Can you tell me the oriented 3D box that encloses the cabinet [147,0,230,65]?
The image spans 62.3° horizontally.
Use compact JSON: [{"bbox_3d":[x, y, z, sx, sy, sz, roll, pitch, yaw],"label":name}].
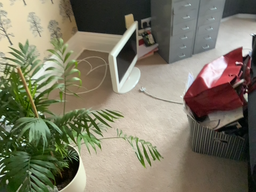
[{"bbox_3d":[0.600,-0.790,2.210,0.670,0.630,0.420,-21,45,-14],"label":"cabinet"}]
